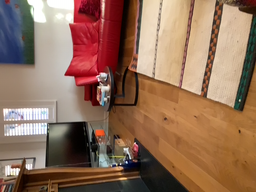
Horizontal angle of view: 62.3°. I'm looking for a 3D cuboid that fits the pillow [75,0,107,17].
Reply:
[{"bbox_3d":[-0.630,-1.570,3.510,0.200,0.500,0.450,-27,-61,-51],"label":"pillow"}]
